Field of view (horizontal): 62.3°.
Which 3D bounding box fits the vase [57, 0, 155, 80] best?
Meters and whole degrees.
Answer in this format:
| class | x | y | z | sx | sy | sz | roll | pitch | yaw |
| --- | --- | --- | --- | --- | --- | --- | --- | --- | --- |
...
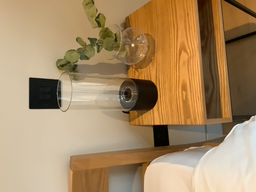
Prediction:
| class | x | y | z | sx | sy | sz | roll | pitch | yaw |
| --- | --- | --- | --- | --- | --- | --- | --- | --- | --- |
| vase | -0.060 | -0.170 | 0.630 | 0.120 | 0.260 | 0.210 | -10 | 80 | 52 |
